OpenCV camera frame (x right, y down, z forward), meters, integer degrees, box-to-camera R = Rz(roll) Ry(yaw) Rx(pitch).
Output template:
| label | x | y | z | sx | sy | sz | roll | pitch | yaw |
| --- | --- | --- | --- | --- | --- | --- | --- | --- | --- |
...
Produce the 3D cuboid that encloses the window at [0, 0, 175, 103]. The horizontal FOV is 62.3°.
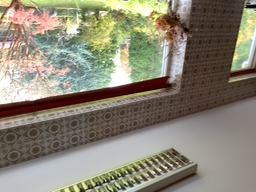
| label | x | y | z | sx | sy | sz | roll | pitch | yaw |
| --- | --- | --- | --- | --- | --- | --- | --- | --- | --- |
| window | -0.390 | -0.500 | 1.870 | 1.770 | 0.880 | 0.240 | -9 | -155 | -27 |
